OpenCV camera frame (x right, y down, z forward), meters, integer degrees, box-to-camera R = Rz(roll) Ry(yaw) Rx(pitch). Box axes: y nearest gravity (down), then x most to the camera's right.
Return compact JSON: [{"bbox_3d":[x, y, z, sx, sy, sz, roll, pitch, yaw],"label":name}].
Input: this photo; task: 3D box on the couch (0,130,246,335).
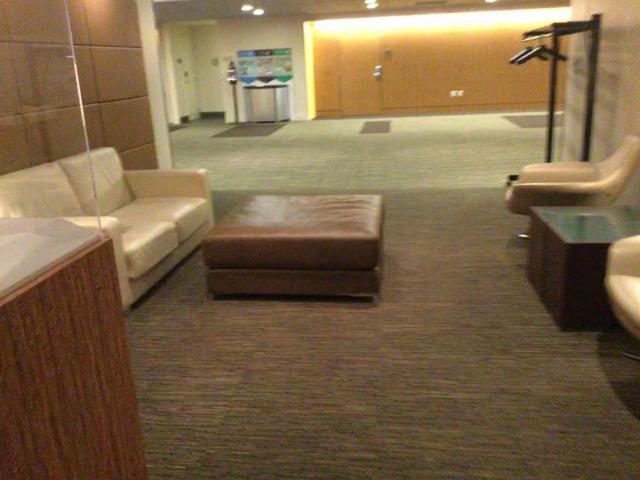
[{"bbox_3d":[-1.330,-0.170,3.720,1.130,0.780,1.720,0,19,12],"label":"couch"}]
